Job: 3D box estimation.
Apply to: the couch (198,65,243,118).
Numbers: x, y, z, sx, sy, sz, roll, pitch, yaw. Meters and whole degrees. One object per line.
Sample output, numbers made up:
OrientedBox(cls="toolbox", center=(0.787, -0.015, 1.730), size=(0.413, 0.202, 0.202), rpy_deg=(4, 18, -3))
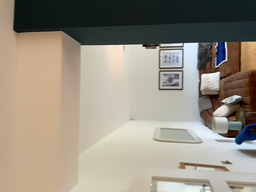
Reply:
OrientedBox(cls="couch", center=(2.230, -0.100, 5.290), size=(0.690, 0.710, 1.130), rpy_deg=(-81, -12, -46))

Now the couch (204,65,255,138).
OrientedBox(cls="couch", center=(2.060, 0.090, 4.240), size=(1.360, 0.740, 1.210), rpy_deg=(0, -90, -82))

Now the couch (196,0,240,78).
OrientedBox(cls="couch", center=(2.260, -1.380, 5.480), size=(1.160, 0.740, 1.730), rpy_deg=(-1, -89, -82))
